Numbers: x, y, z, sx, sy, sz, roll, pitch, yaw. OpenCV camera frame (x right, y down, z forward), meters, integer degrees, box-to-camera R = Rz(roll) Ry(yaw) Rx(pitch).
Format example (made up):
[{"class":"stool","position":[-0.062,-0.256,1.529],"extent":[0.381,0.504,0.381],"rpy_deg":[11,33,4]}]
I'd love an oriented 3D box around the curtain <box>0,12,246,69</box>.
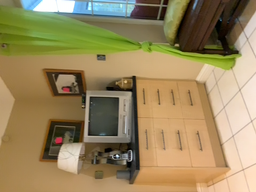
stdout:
[{"class":"curtain","position":[-0.080,-0.480,1.920],"extent":[0.330,2.160,0.220],"rpy_deg":[99,171,-55]}]
